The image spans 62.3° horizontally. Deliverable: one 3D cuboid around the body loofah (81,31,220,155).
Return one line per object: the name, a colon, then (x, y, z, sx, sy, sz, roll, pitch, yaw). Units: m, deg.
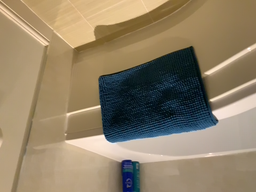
body loofah: (0.110, 0.030, 1.000, 0.510, 0.370, 0.350, -13, 150, 22)
